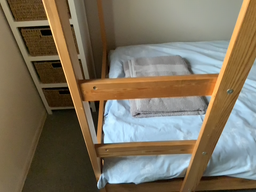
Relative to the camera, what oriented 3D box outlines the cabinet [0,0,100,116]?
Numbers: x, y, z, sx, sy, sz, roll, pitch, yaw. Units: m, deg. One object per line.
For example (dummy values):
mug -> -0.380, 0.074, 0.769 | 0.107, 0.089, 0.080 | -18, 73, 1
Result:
cabinet -> -0.450, -0.380, 1.350 | 0.400, 1.150, 0.320 | -2, 44, -1
